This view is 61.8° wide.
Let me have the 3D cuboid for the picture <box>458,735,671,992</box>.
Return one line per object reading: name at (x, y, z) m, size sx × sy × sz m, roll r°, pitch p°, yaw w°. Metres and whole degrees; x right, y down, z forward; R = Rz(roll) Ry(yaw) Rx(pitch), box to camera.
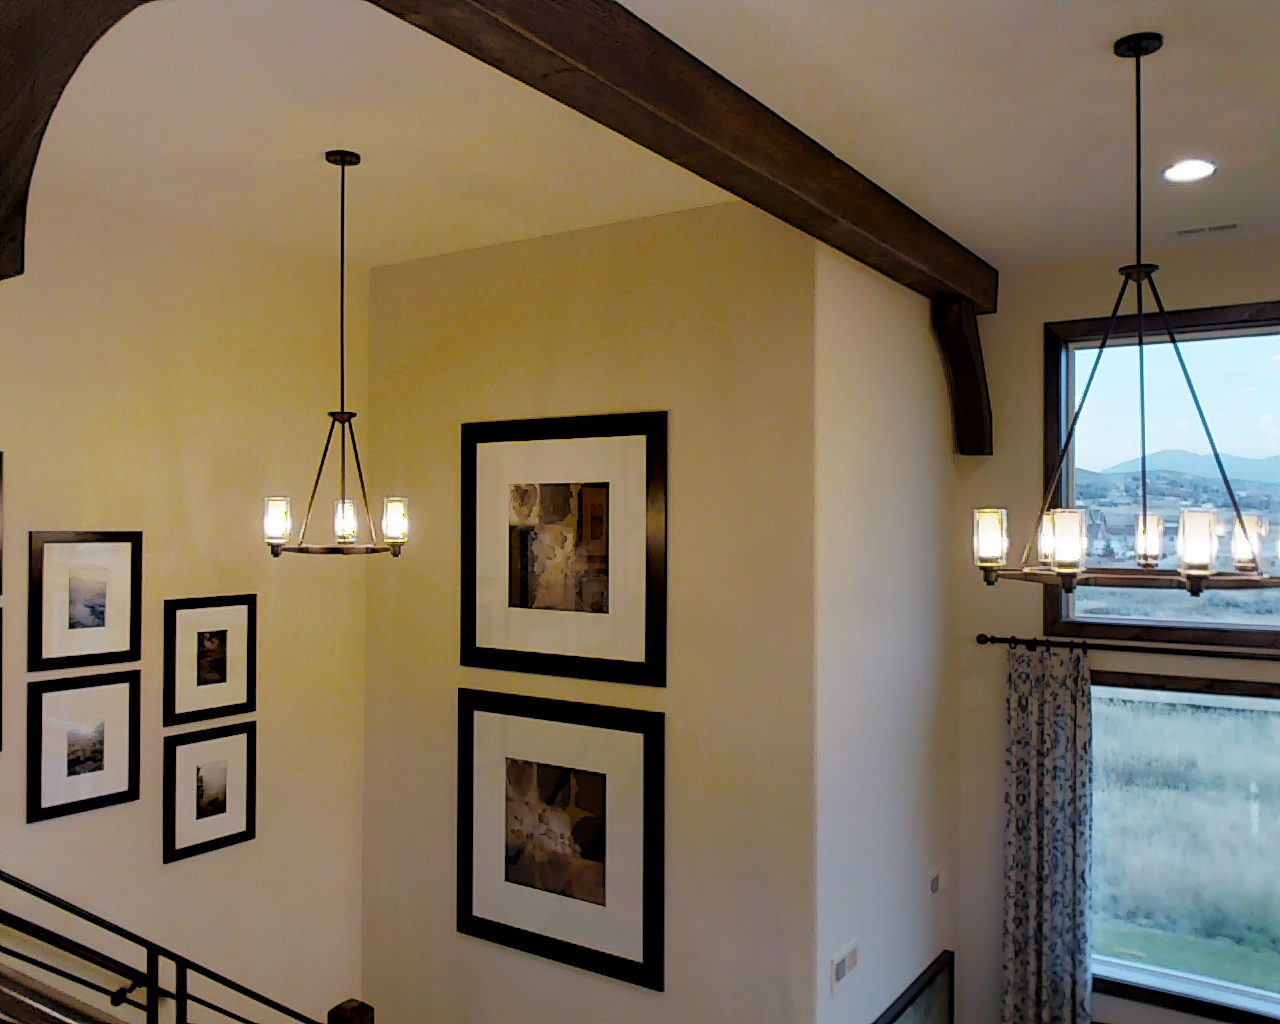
picture at (-0.380, 1.580, 4.940) m, size 1.190 × 0.960 × 0.040 m, roll 0°, pitch -1°, yaw 33°
